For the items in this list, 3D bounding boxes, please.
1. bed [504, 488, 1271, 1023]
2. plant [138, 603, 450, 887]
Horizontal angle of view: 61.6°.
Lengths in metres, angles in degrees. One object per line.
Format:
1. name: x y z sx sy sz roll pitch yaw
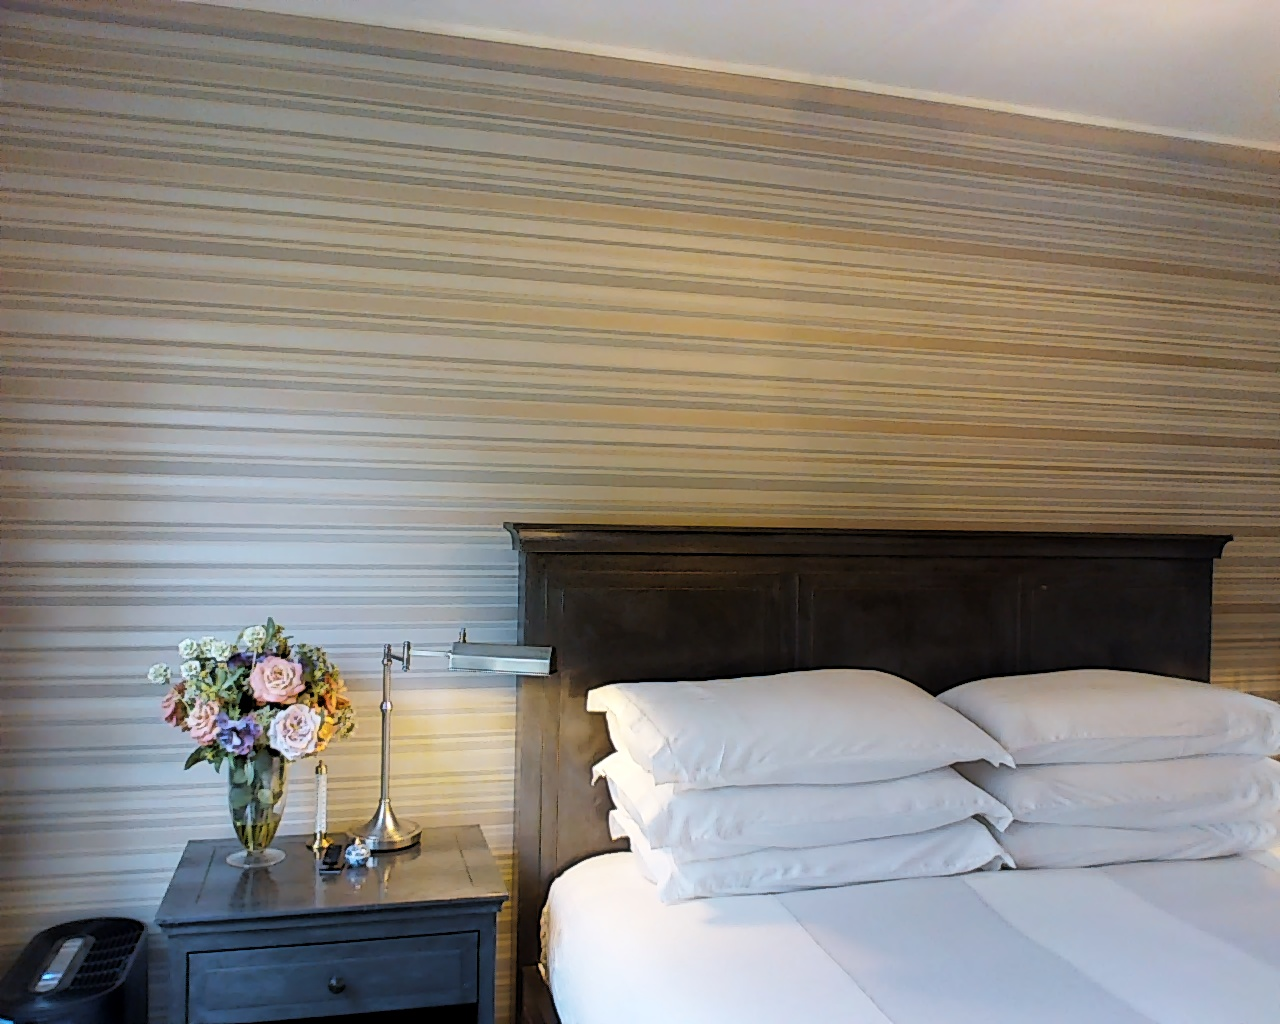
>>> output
1. bed: 0.720 0.740 2.900 2.120 1.550 0.260 1 0 -15
2. plant: -0.750 0.480 2.400 0.590 0.510 0.490 1 0 -15
